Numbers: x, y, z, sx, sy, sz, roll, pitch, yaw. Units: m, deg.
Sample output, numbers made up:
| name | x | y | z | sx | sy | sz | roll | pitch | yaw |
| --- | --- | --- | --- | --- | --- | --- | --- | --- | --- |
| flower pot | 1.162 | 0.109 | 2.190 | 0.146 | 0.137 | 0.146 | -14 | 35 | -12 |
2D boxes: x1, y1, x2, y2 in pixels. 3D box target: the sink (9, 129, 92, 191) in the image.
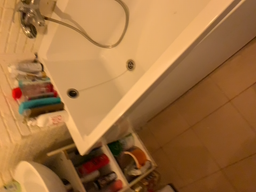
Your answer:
| name | x | y | z | sx | sy | sz | roll | pitch | yaw |
| --- | --- | --- | --- | --- | --- | --- | --- | --- | --- |
| sink | -0.430 | 0.530 | 1.200 | 0.380 | 0.210 | 0.530 | -48 | 67 | 37 |

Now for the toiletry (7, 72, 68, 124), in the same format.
| name | x | y | z | sx | sy | sz | roll | pitch | yaw |
| --- | --- | --- | --- | --- | --- | --- | --- | --- | --- |
| toiletry | -0.500 | 0.000 | 1.180 | 0.110 | 0.220 | 0.240 | -46 | 69 | 38 |
